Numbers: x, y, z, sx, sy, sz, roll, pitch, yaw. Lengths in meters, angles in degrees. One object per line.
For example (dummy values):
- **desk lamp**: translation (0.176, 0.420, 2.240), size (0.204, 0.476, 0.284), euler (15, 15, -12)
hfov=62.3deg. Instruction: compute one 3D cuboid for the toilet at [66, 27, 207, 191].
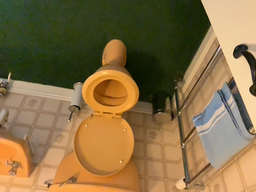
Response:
- **toilet**: translation (-0.010, 0.150, 1.480), size (0.610, 0.970, 0.710), euler (9, 138, -8)
